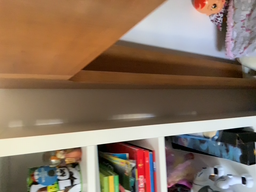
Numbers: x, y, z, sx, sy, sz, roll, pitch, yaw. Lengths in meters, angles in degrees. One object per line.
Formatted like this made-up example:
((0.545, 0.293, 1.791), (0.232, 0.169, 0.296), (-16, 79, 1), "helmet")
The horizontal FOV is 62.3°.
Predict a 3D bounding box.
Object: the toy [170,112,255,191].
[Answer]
((0.390, 0.250, 0.890), (0.290, 0.290, 0.350), (-5, 86, 64), "toy")

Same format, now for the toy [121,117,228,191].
((0.150, 0.250, 0.760), (0.280, 0.240, 0.330), (-9, 82, 63), "toy")

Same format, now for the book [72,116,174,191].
((-0.040, 0.240, 0.630), (0.340, 0.170, 0.350), (-9, 82, 63), "book")
